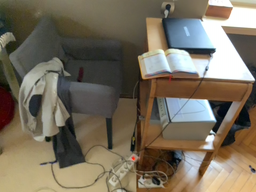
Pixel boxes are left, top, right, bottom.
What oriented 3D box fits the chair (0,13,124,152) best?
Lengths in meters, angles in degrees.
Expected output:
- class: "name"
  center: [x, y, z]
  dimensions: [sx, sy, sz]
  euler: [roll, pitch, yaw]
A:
- class: "chair"
  center: [-0.380, -0.090, 1.610]
  dimensions: [0.650, 0.780, 0.650]
  euler: [3, 42, -3]
